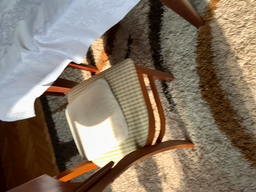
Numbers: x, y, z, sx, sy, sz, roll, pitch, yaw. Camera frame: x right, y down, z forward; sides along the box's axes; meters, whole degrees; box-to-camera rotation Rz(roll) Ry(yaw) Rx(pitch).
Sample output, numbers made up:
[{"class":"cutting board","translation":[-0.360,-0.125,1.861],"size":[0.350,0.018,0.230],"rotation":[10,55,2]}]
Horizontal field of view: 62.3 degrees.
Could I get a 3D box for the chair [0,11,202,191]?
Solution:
[{"class":"chair","translation":[-0.110,0.140,0.930],"size":[0.470,0.910,0.500],"rotation":[-24,74,31]}]
